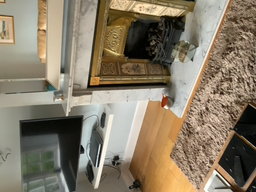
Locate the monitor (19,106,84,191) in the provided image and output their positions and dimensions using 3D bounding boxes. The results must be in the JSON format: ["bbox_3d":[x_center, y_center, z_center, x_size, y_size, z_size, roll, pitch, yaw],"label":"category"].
[{"bbox_3d":[-0.770,0.590,2.160,0.110,0.560,0.970,40,127,52],"label":"monitor"}]

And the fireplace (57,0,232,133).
[{"bbox_3d":[0.060,-0.470,1.870,0.690,1.120,1.280,49,134,47],"label":"fireplace"}]
